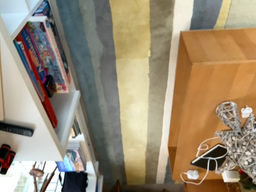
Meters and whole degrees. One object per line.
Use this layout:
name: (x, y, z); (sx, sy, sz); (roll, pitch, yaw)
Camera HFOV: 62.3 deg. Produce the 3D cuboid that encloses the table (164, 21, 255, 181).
table: (0.710, 0.130, 1.390); (0.820, 0.360, 1.130); (-1, 134, 2)
